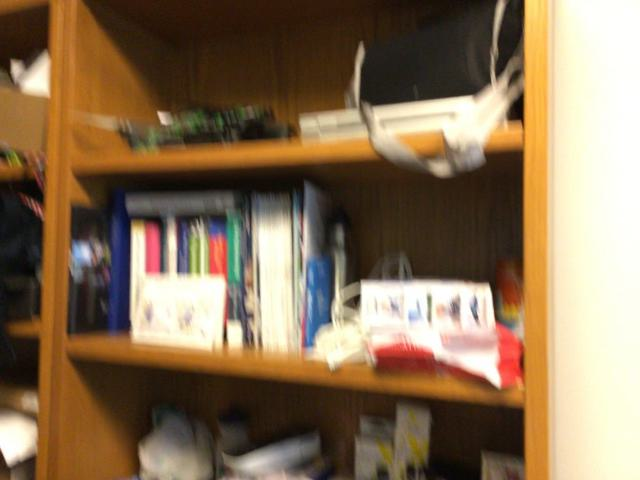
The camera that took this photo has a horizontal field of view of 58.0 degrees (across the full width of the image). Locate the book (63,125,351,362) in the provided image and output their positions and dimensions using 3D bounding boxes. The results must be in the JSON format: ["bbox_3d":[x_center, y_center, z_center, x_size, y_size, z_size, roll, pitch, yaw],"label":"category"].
[{"bbox_3d":[-0.210,0.020,1.150,0.470,0.380,0.290,-1,-6,23],"label":"book"}]
